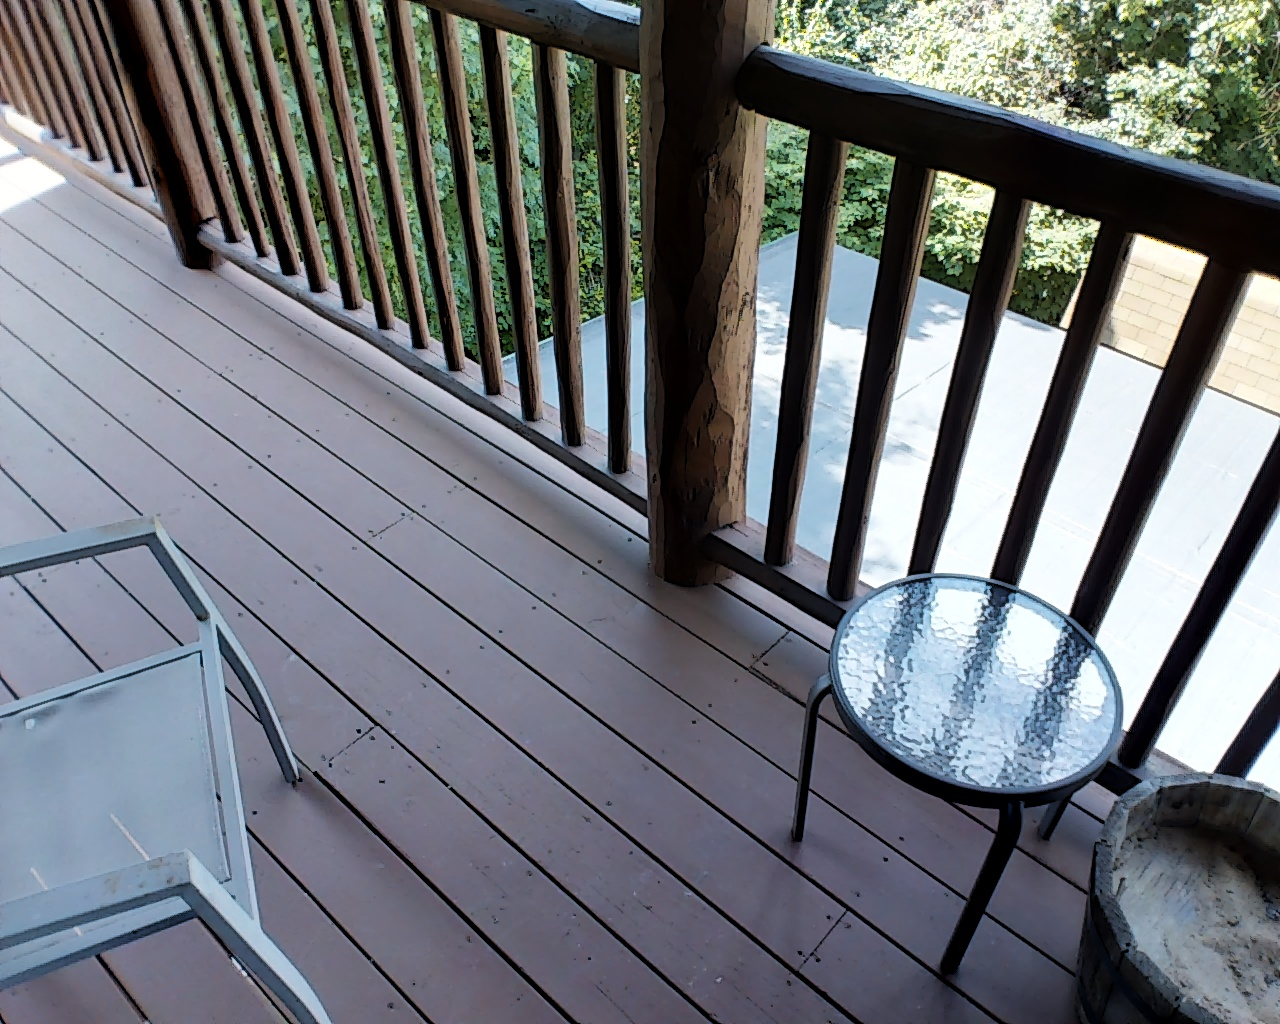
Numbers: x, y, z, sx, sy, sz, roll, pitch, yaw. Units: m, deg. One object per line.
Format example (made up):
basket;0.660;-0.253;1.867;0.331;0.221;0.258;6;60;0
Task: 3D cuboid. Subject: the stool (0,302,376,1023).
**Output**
stool;-0.810;0.350;1.310;0.740;0.870;0.640;-16;43;-18

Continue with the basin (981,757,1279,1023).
basin;0.770;0.640;1.450;0.440;0.280;0.340;29;48;29
